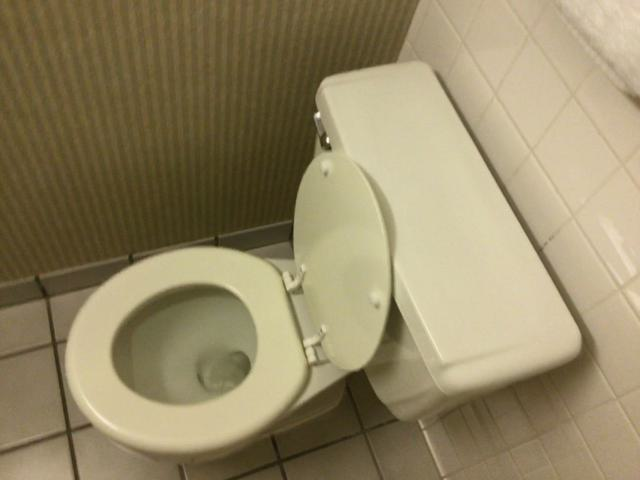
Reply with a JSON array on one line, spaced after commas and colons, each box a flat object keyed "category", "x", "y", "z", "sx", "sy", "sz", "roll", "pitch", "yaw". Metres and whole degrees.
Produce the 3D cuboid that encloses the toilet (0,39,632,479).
[{"category": "toilet", "x": -0.090, "y": 0.160, "z": 1.020, "sx": 0.680, "sy": 0.740, "sz": 0.530, "roll": -13, "pitch": 62, "yaw": -19}]
